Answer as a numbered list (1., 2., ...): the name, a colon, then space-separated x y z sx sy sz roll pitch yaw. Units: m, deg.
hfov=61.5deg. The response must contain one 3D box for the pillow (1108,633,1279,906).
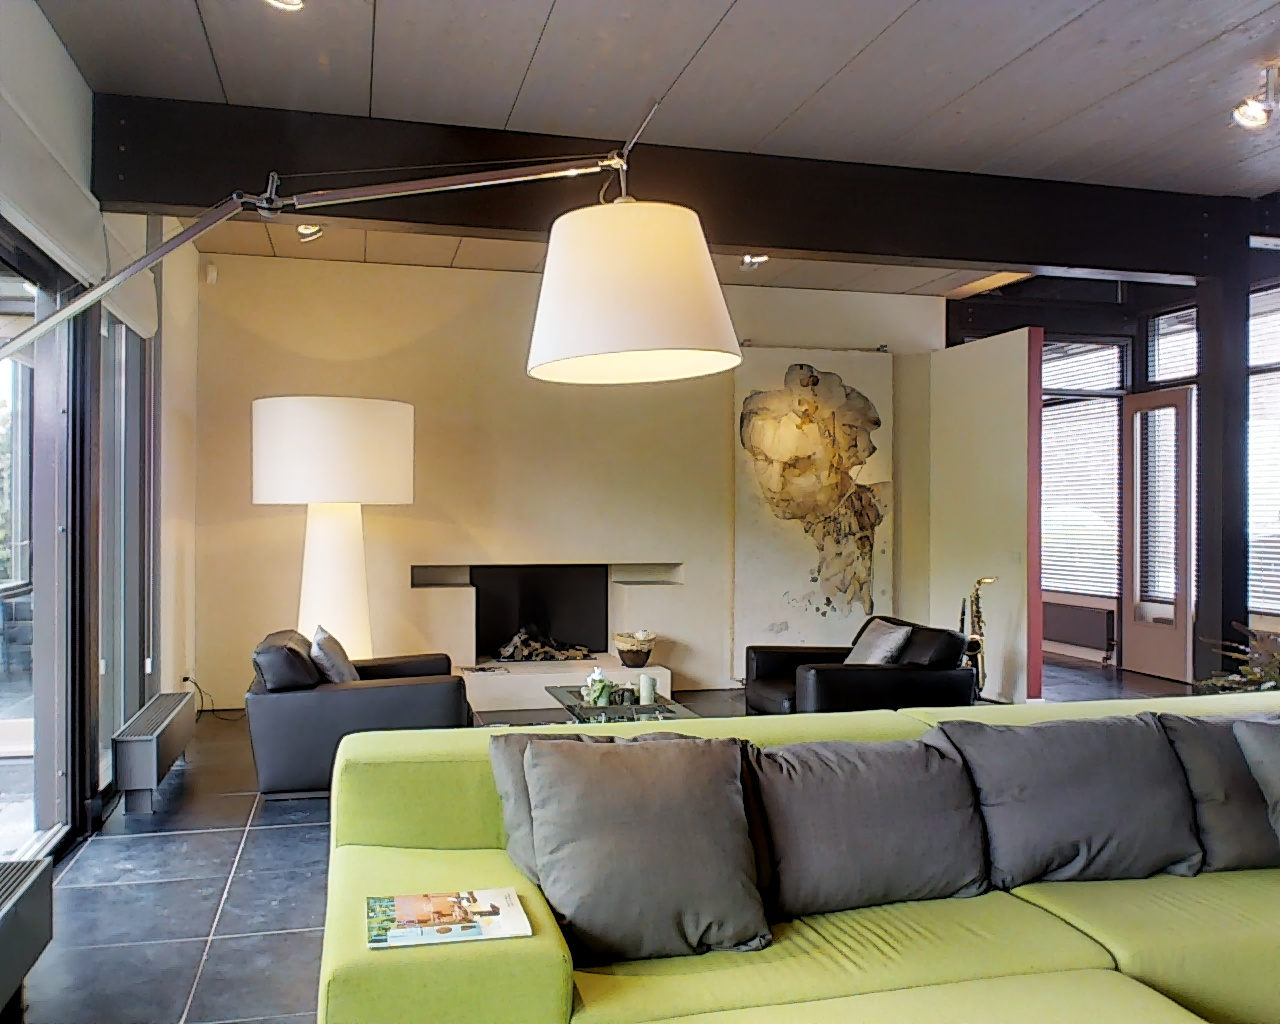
1. pillow: 1.770 0.760 2.950 0.750 0.530 0.270 32 -7 -12

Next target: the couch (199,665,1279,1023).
1. couch: 1.000 0.930 2.220 3.369 0.800 2.350 0 0 -14

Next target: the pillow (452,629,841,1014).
1. pillow: 0.010 0.710 2.540 0.730 0.500 0.260 41 -9 -9

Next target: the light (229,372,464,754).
1. light: -1.810 0.280 6.610 1.110 2.090 0.980 0 0 -37

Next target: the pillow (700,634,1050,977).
1. pillow: 0.570 0.700 2.610 0.670 0.480 0.210 39 -9 -11

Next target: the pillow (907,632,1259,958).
1. pillow: 1.160 0.730 2.820 0.720 0.510 0.250 33 -8 -13

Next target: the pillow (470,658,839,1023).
1. pillow: 0.030 0.710 2.370 0.600 0.510 0.230 34 -8 -13

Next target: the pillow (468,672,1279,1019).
1. pillow: 0.920 0.730 2.690 2.620 0.490 0.610 0 0 -14

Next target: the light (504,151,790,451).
1. light: -0.010 -0.400 2.130 0.460 0.450 0.340 0 -22 -14
